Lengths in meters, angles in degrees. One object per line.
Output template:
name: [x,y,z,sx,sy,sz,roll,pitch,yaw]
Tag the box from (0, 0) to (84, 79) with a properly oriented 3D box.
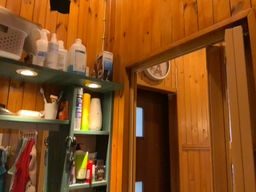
box: [-0.480,-0.240,0.960,0.410,0.180,0.370,11,-15,-38]
